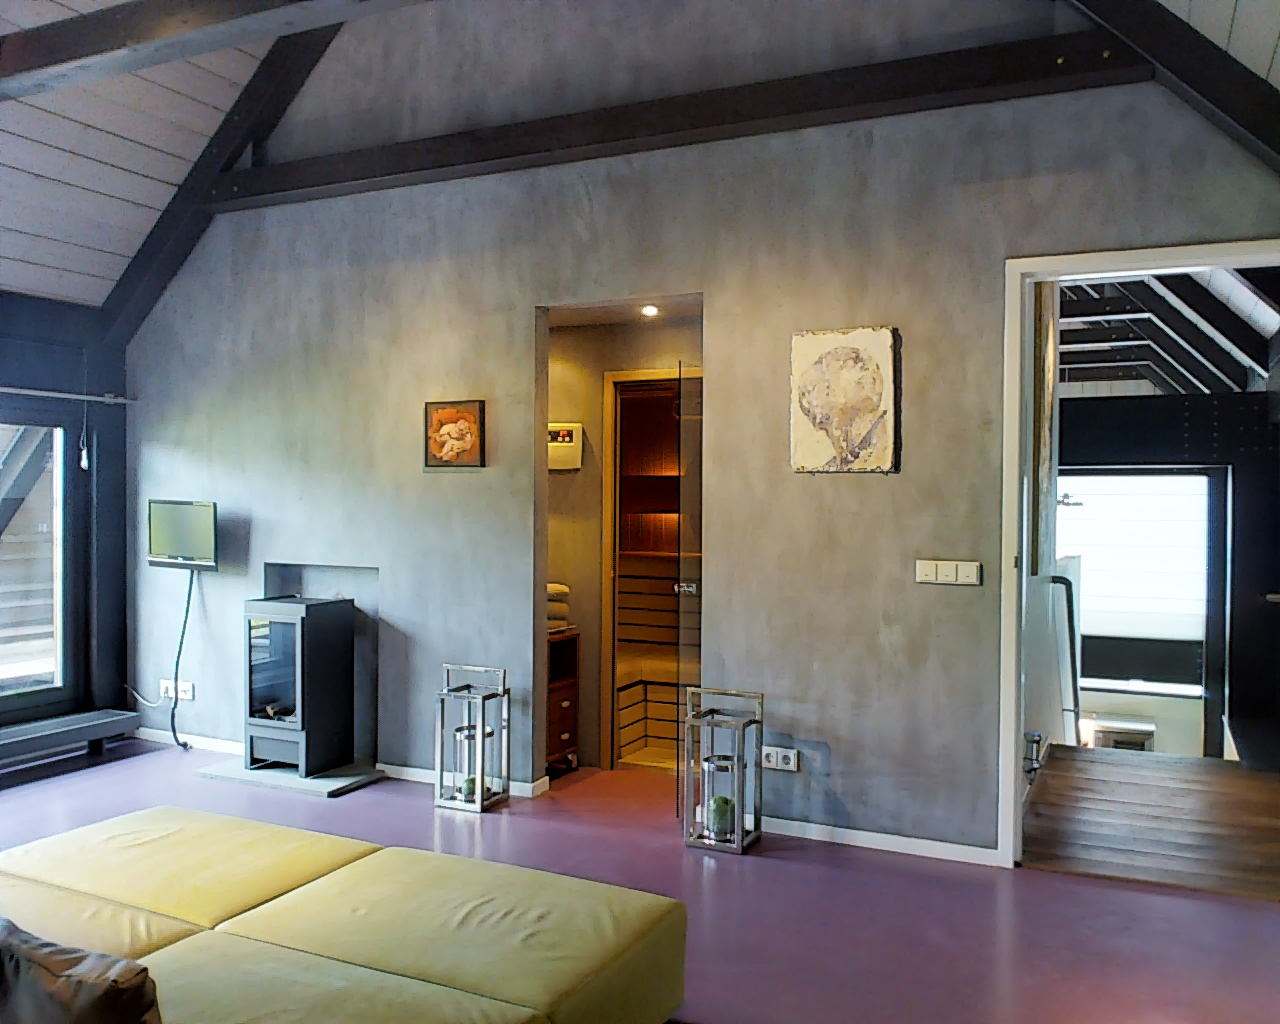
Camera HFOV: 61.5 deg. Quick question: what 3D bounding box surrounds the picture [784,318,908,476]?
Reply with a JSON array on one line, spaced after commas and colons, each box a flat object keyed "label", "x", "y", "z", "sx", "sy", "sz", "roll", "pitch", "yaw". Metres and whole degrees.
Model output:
[{"label": "picture", "x": 0.780, "y": -0.430, "z": 4.100, "sx": 0.460, "sy": 0.580, "sz": 0.050, "roll": 1, "pitch": 1, "yaw": 25}]

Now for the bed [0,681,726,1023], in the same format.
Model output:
[{"label": "bed", "x": -1.180, "y": 0.930, "z": 2.180, "sx": 2.000, "sy": 0.680, "sz": 2.340, "roll": 1, "pitch": 1, "yaw": 25}]
